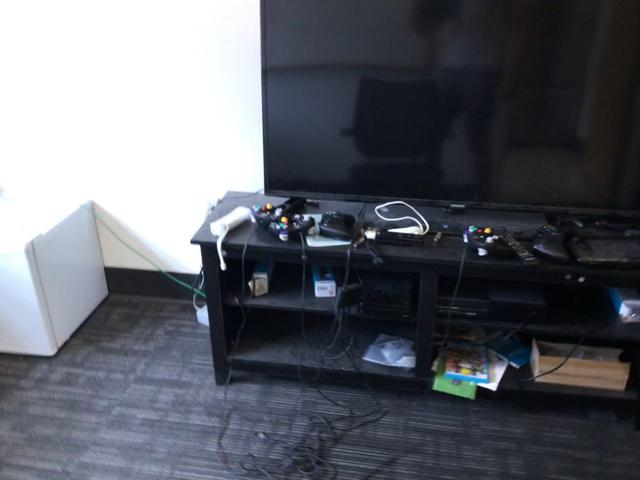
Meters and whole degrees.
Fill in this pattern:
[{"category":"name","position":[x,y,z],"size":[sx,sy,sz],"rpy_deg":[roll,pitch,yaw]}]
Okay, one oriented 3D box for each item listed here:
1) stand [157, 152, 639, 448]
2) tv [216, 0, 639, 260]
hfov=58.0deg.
[{"category":"stand","position":[0.340,0.200,1.880],"size":[1.480,0.750,0.470],"rpy_deg":[-3,24,13]},{"category":"tv","position":[0.390,-0.400,1.650],"size":[1.200,0.790,0.090],"rpy_deg":[-10,24,17]}]
